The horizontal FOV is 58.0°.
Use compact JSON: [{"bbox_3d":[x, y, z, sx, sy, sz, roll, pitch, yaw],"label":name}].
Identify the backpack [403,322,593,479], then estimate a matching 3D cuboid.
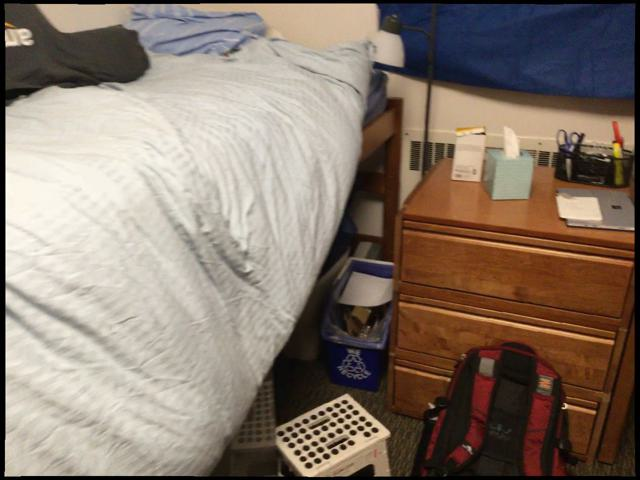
[{"bbox_3d":[0.509,0.571,1.690,0.439,0.441,0.390,10,27,19],"label":"backpack"}]
